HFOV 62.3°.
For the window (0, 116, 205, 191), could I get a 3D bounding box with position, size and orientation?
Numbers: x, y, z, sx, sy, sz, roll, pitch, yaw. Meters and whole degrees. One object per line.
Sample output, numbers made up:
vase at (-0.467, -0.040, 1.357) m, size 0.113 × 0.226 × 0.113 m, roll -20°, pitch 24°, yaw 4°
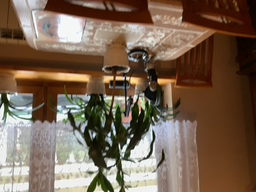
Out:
window at (-0.320, 0.730, 1.700) m, size 2.090 × 1.120 × 0.220 m, roll 2°, pitch 171°, yaw -20°
